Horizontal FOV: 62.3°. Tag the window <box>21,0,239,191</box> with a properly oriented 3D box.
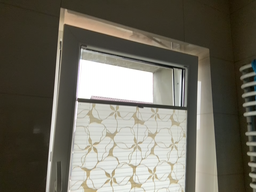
[{"bbox_3d":[0.070,0.410,0.930,0.960,1.520,0.240,7,-12,-28],"label":"window"}]
